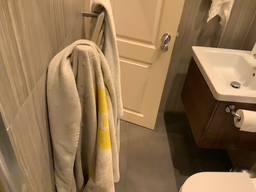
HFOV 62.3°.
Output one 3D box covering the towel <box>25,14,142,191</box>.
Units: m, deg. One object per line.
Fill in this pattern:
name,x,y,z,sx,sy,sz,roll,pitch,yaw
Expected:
towel,-0.120,0.310,0.790,0.190,1.100,0.280,7,37,0
